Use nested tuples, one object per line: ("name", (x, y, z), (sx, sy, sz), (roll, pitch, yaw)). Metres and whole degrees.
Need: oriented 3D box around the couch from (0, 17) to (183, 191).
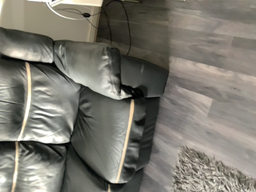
("couch", (-0.570, 0.730, 1.720), (1.030, 0.950, 2.390), (26, 109, 39))
